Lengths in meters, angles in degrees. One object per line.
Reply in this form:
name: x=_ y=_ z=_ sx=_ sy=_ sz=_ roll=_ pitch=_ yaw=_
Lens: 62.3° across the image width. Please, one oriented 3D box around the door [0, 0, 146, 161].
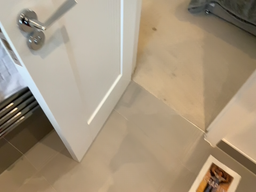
door: x=-0.080 y=-0.450 z=0.620 sx=0.060 sy=1.960 sz=0.790 roll=23 pitch=60 yaw=11
